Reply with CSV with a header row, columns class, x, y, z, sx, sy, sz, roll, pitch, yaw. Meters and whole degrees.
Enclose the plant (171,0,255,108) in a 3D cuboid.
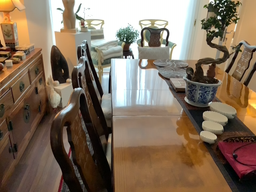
class,x,y,z,sx,sy,sz,roll,pitch,yaw
plant,0.510,-0.270,1.360,0.320,0.640,0.280,1,25,-4
